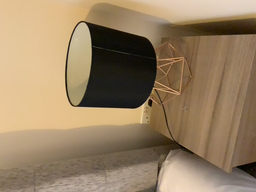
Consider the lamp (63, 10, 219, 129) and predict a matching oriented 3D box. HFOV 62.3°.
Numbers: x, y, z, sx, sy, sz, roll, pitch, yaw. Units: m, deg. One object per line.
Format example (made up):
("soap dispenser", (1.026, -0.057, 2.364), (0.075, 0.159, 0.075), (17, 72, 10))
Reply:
("lamp", (0.020, -0.090, 0.730), (0.320, 0.390, 0.280), (27, 112, 58))
